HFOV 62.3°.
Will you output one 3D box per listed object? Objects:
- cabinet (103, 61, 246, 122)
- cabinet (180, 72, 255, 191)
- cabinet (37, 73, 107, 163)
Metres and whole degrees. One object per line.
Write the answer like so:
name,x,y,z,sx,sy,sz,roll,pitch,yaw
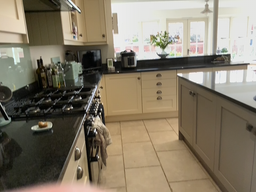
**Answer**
cabinet,0.790,-0.120,3.930,2.380,0.850,0.690,-4,14,-2
cabinet,1.040,0.300,2.140,0.630,0.870,1.460,-4,14,-2
cabinet,-0.660,0.200,2.950,0.630,0.860,1.200,-4,14,-2
